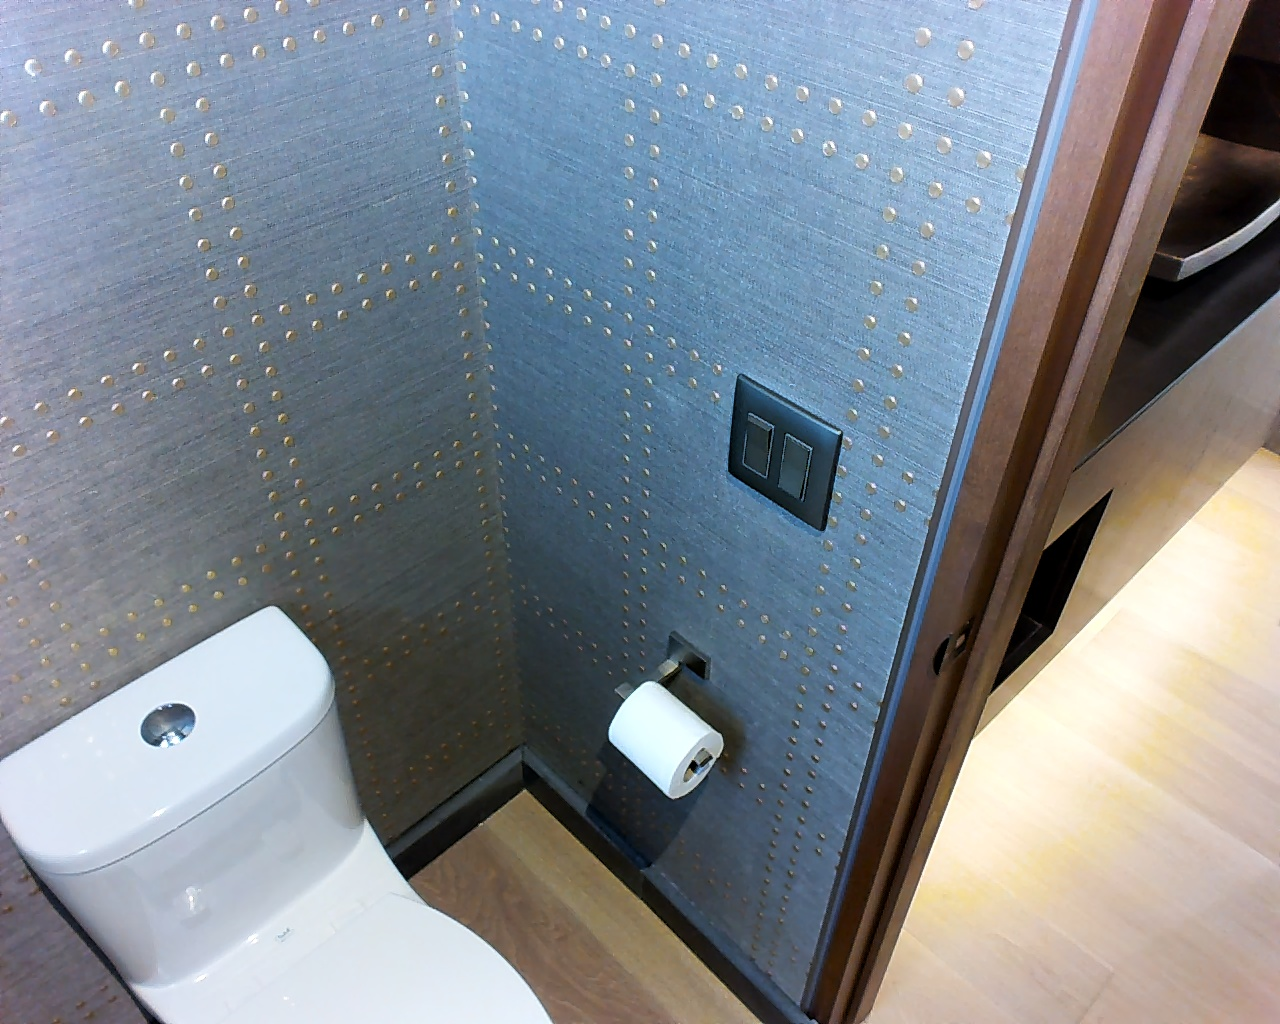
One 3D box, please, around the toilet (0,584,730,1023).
[{"bbox_3d":[-0.320,0.630,1.280,0.410,0.730,0.720,-33,51,-31],"label":"toilet"}]
